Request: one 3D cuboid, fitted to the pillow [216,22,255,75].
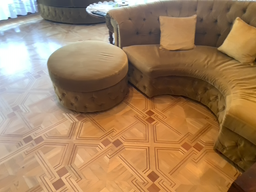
[{"bbox_3d":[1.110,-0.470,2.080,0.240,0.380,0.310,-22,40,-24],"label":"pillow"}]

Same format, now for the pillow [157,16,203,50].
[{"bbox_3d":[0.560,-0.700,2.340,0.400,0.280,0.250,-4,39,-5],"label":"pillow"}]

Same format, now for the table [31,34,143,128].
[{"bbox_3d":[-0.420,-0.230,2.280,0.800,0.450,0.800,-29,47,-32],"label":"table"}]

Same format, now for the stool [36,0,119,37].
[{"bbox_3d":[-0.960,-1.700,4.070,1.080,0.510,1.160,-29,47,-32],"label":"stool"}]
